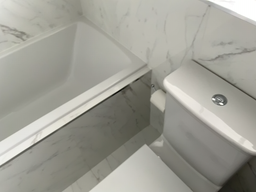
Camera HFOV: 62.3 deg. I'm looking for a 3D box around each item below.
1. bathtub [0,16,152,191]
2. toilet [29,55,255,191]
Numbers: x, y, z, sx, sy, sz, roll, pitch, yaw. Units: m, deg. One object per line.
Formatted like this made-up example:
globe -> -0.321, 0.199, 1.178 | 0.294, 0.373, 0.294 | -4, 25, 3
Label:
bathtub -> -0.690, 0.220, 1.270 | 1.580, 0.570, 0.720 | -34, 56, -21
toilet -> 0.130, 0.380, 0.940 | 0.680, 0.790, 0.420 | -34, 56, -21
